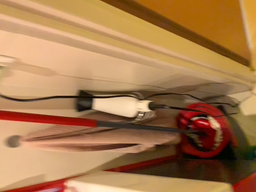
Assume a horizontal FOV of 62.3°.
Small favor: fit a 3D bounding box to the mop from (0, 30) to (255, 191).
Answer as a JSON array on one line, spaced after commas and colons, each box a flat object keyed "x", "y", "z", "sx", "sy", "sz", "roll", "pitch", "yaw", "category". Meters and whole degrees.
[{"x": 0.050, "y": 0.090, "z": 0.780, "sx": 0.370, "sy": 1.300, "sz": 0.280, "roll": -8, "pitch": 81, "yaw": 46, "category": "mop"}]
